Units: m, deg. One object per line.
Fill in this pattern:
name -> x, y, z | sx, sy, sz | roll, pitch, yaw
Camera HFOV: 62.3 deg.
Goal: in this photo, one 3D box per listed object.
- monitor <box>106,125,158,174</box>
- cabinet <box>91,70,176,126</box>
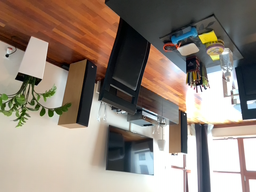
monitor -> 0.140, 1.030, 3.920 | 0.090, 0.710, 1.370 | -12, 154, 38
cabinet -> 0.210, 0.130, 3.970 | 0.500, 0.430, 1.850 | -13, 154, 39
